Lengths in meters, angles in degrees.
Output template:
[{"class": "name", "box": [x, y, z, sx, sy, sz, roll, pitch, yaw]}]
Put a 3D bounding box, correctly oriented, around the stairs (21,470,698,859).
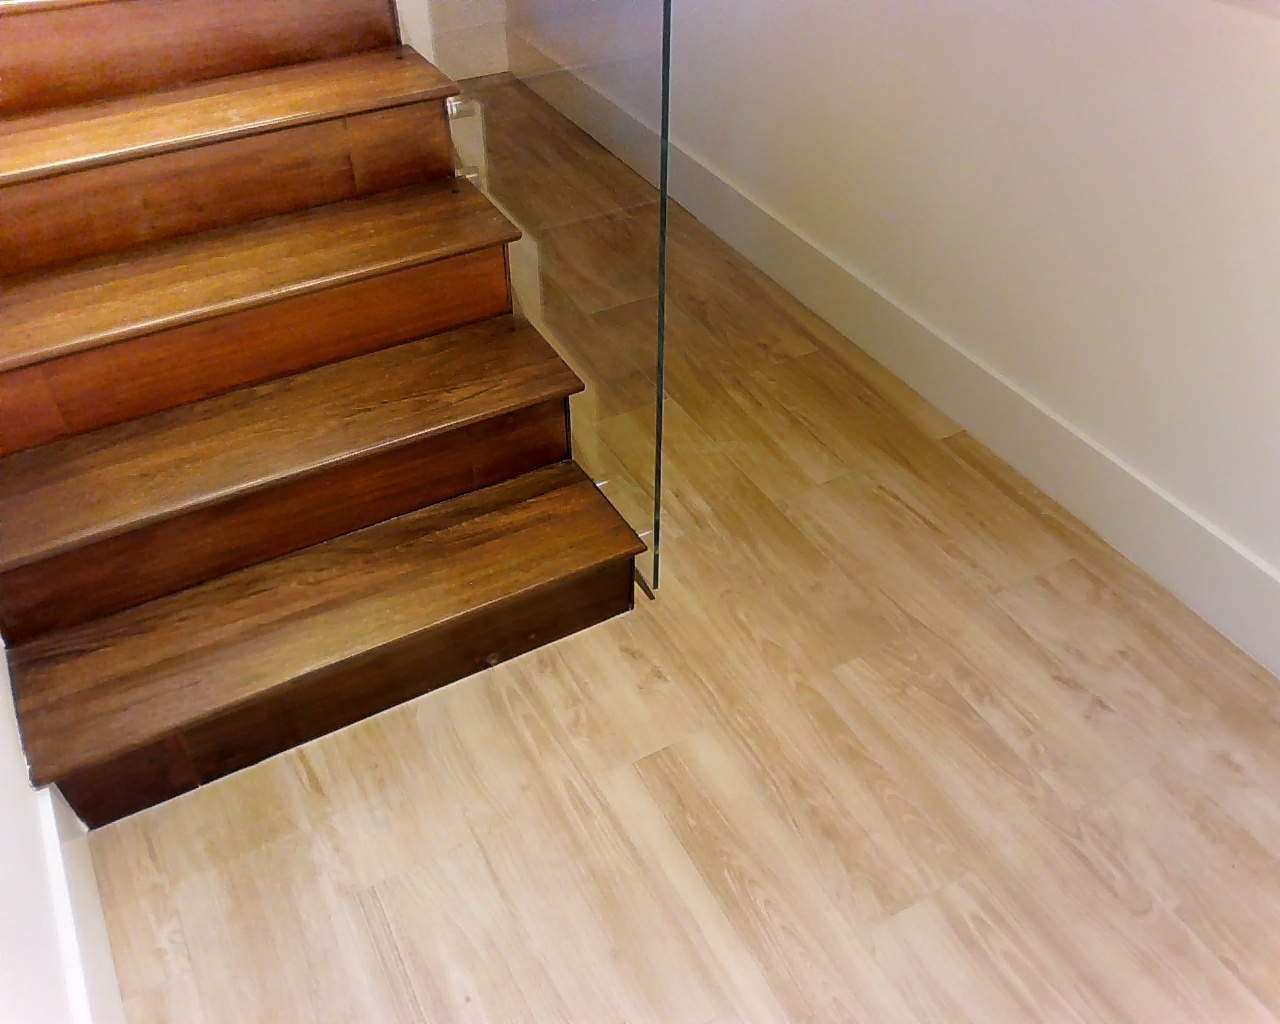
[{"class": "stairs", "box": [-0.430, 0.240, 1.920, 1.140, 0.250, 0.160, -20, 46, -22]}]
